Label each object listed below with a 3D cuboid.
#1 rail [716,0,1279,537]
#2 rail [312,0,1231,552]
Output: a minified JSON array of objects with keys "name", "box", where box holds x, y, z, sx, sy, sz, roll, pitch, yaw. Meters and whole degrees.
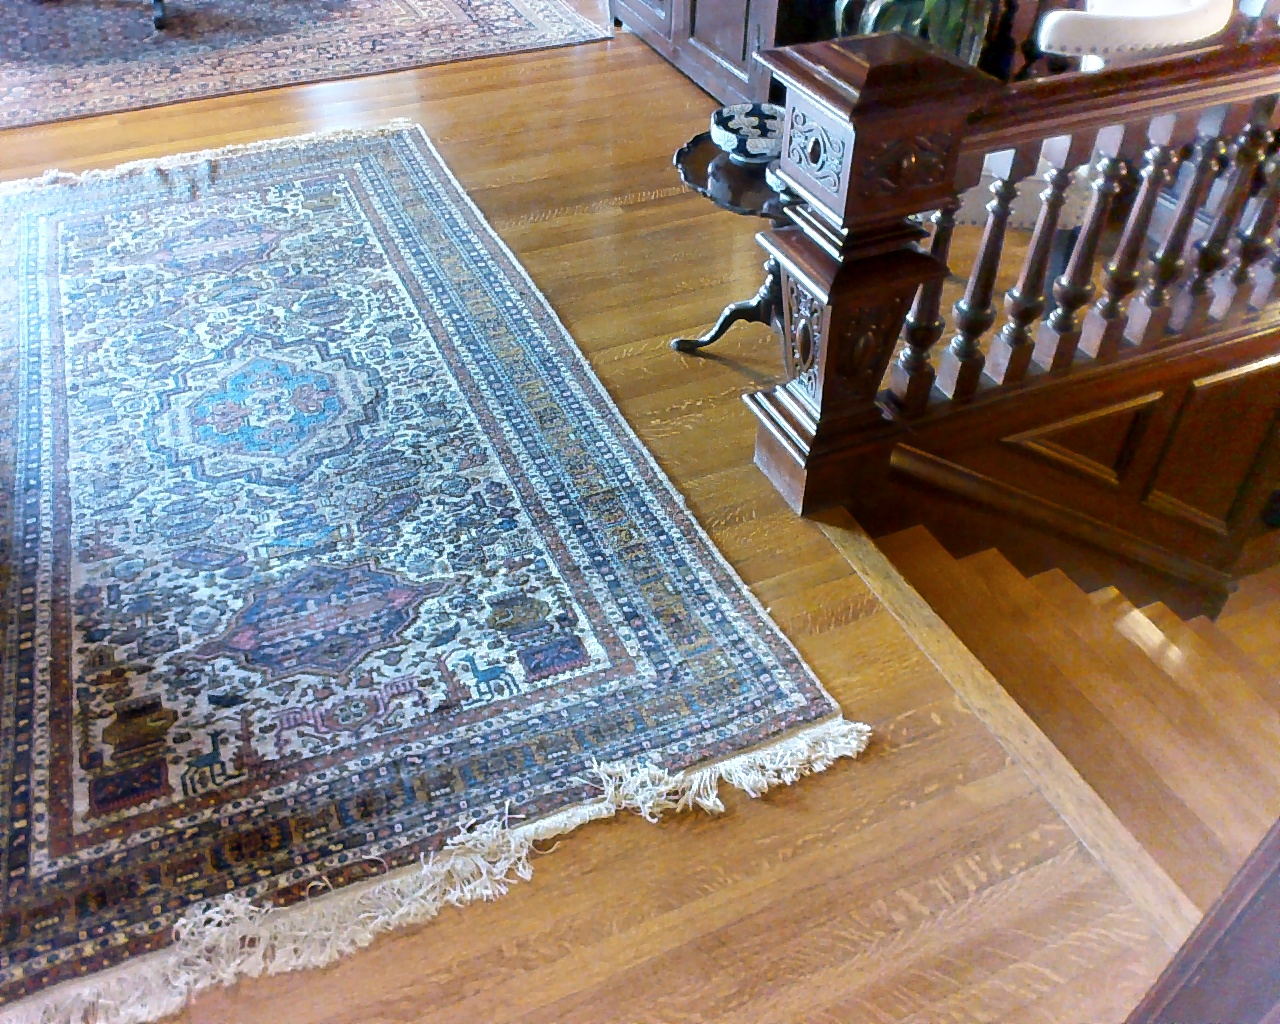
[{"name":"rail","box":[0.990,-0.630,2.380,1.610,0.980,0.340,-16,45,-18]},{"name":"rail","box":[0.280,-0.610,1.980,1.550,1.010,0.330,-16,45,-18]}]
